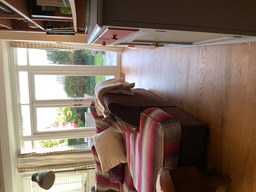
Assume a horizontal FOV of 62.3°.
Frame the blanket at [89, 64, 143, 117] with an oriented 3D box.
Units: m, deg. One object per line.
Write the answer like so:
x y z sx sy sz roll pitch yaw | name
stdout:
-0.190 -0.120 2.710 0.780 0.540 0.540 -141 51 -72 | blanket

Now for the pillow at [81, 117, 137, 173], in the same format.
-0.270 0.680 2.990 0.500 0.570 0.260 -56 -23 1 | pillow
